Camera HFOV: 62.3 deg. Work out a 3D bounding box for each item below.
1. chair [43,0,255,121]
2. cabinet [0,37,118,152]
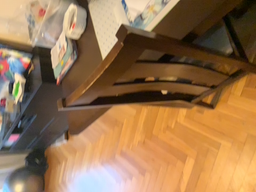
[{"bbox_3d":[0.210,-0.170,0.970,0.450,0.990,0.420,-37,59,41],"label":"chair"},{"bbox_3d":[-0.990,0.160,2.500,1.830,0.750,0.440,-37,59,40],"label":"cabinet"}]
